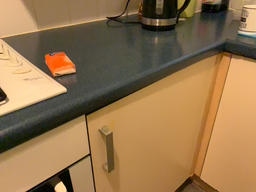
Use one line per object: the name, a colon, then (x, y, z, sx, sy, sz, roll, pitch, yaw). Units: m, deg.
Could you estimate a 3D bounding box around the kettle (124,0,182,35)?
kettle: (0.100, -0.420, 0.840, 0.170, 0.290, 0.160, -24, 39, -34)
